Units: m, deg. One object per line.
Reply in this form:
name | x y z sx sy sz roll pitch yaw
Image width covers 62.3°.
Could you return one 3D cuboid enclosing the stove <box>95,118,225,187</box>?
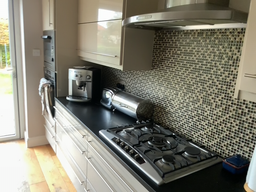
stove | 0.170 0.310 1.420 0.530 0.040 0.700 -4 16 -32
